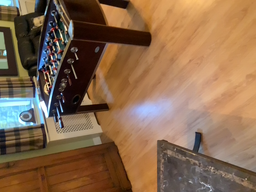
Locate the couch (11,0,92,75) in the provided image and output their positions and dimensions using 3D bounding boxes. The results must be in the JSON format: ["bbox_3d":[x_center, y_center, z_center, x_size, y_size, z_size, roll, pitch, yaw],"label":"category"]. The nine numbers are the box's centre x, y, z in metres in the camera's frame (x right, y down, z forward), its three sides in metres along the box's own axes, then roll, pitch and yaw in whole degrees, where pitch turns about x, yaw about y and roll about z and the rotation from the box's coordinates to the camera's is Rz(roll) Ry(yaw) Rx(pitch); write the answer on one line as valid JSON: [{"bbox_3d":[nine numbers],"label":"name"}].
[{"bbox_3d":[-1.460,-1.320,3.810,0.970,0.940,1.630,-53,51,43],"label":"couch"}]
